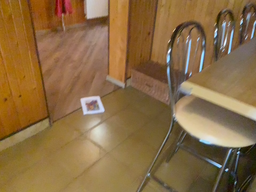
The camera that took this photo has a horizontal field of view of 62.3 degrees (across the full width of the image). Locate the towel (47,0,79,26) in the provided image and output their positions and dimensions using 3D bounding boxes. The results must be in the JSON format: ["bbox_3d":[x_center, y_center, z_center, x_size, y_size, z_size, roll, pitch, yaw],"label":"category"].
[{"bbox_3d":[-1.290,-1.930,4.210,0.300,0.920,0.560,19,35,22],"label":"towel"}]

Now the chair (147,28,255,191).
[{"bbox_3d":[0.370,0.230,1.150,0.300,1.070,0.310,29,40,34],"label":"chair"}]
